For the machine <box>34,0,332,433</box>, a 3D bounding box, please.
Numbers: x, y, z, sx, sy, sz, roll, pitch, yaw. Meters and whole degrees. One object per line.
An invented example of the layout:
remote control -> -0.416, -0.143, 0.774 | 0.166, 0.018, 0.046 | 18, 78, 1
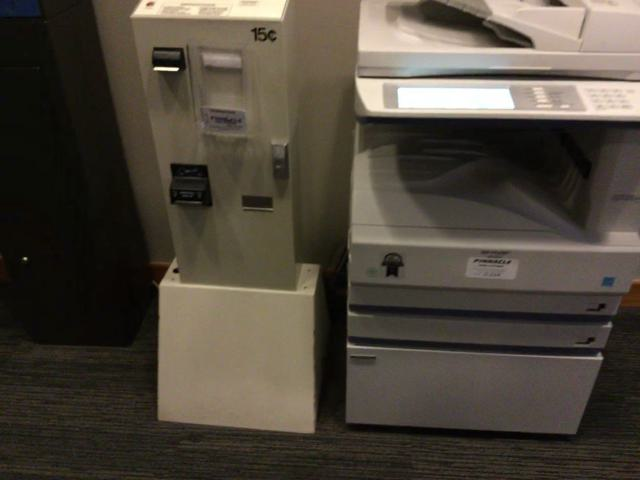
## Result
machine -> -0.230, -0.030, 1.420 | 0.470, 1.070, 0.350 | 0, 33, 5

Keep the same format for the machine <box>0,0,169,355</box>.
machine -> -0.740, -0.330, 1.530 | 0.350, 1.430, 0.300 | 0, 33, 4
